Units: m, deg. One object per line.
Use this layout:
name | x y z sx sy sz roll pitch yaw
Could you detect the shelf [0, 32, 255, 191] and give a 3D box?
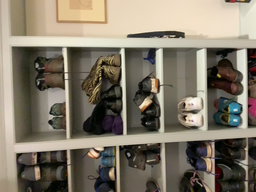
shelf | 0.310 0.270 1.500 0.330 2.190 1.300 -169 78 -80
